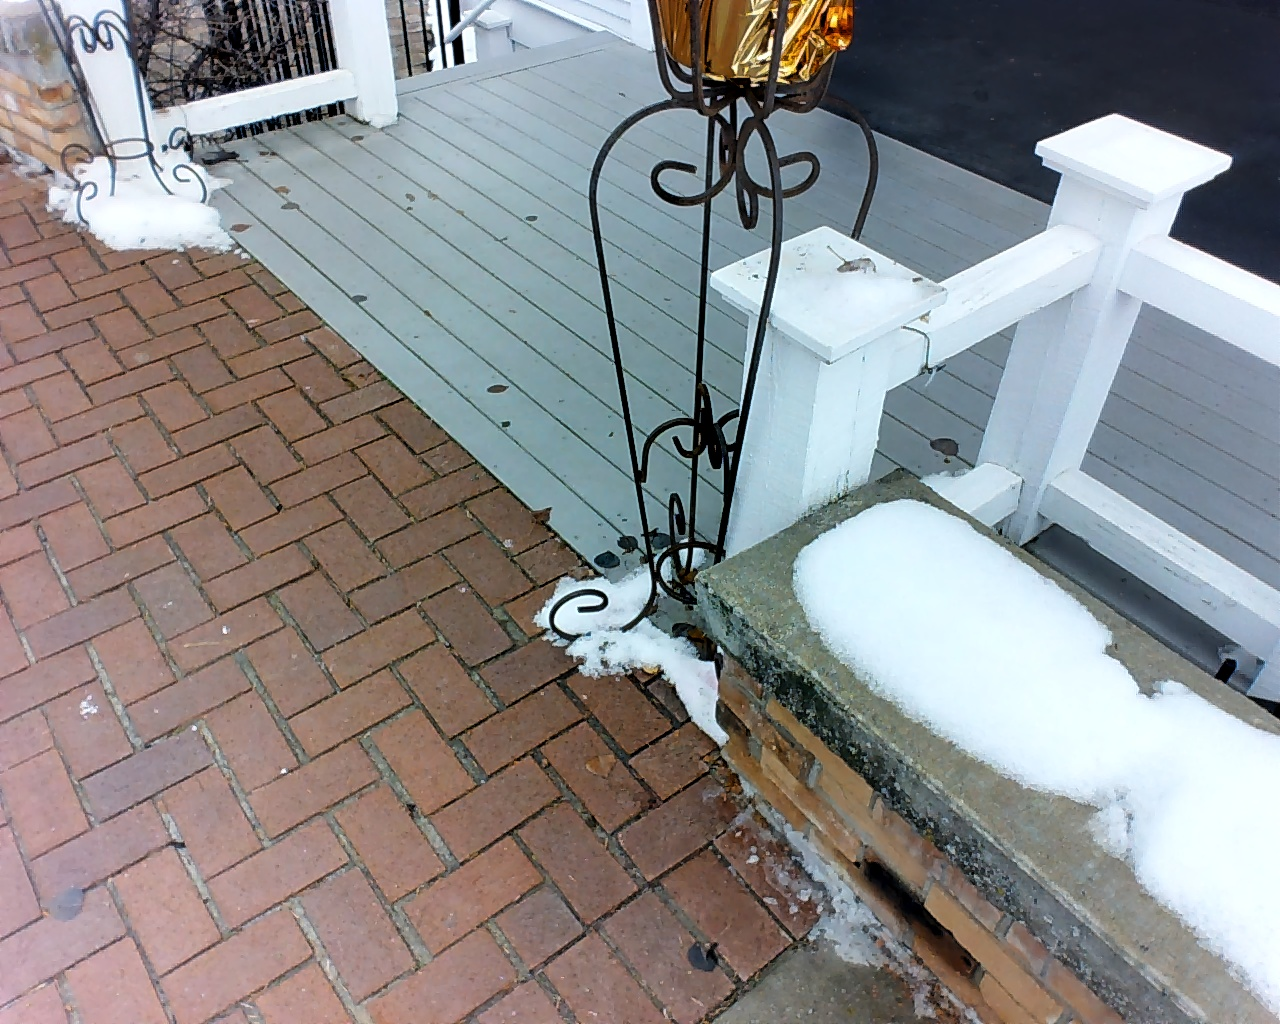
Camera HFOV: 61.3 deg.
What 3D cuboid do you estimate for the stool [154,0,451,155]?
[{"bbox_3d":[-1.170,-1.850,3.660,0.890,0.960,0.310,-29,50,-27],"label":"stool"}]
